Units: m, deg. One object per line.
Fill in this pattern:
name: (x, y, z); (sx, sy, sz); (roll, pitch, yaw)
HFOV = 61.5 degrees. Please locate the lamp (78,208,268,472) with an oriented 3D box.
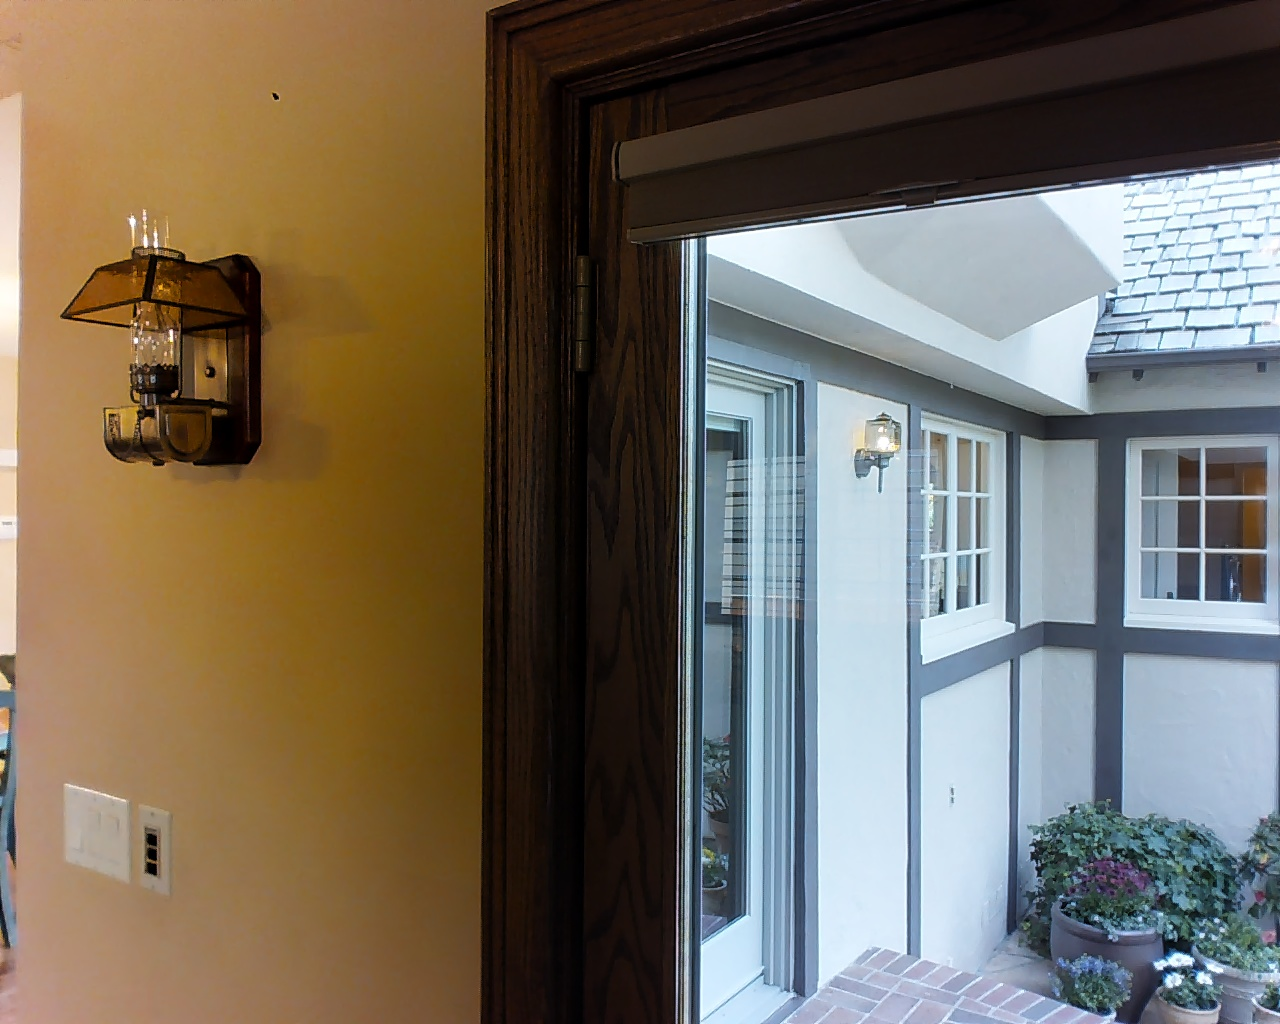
lamp: (-0.550, -0.190, 1.270); (0.160, 0.280, 0.140); (1, 0, 33)
